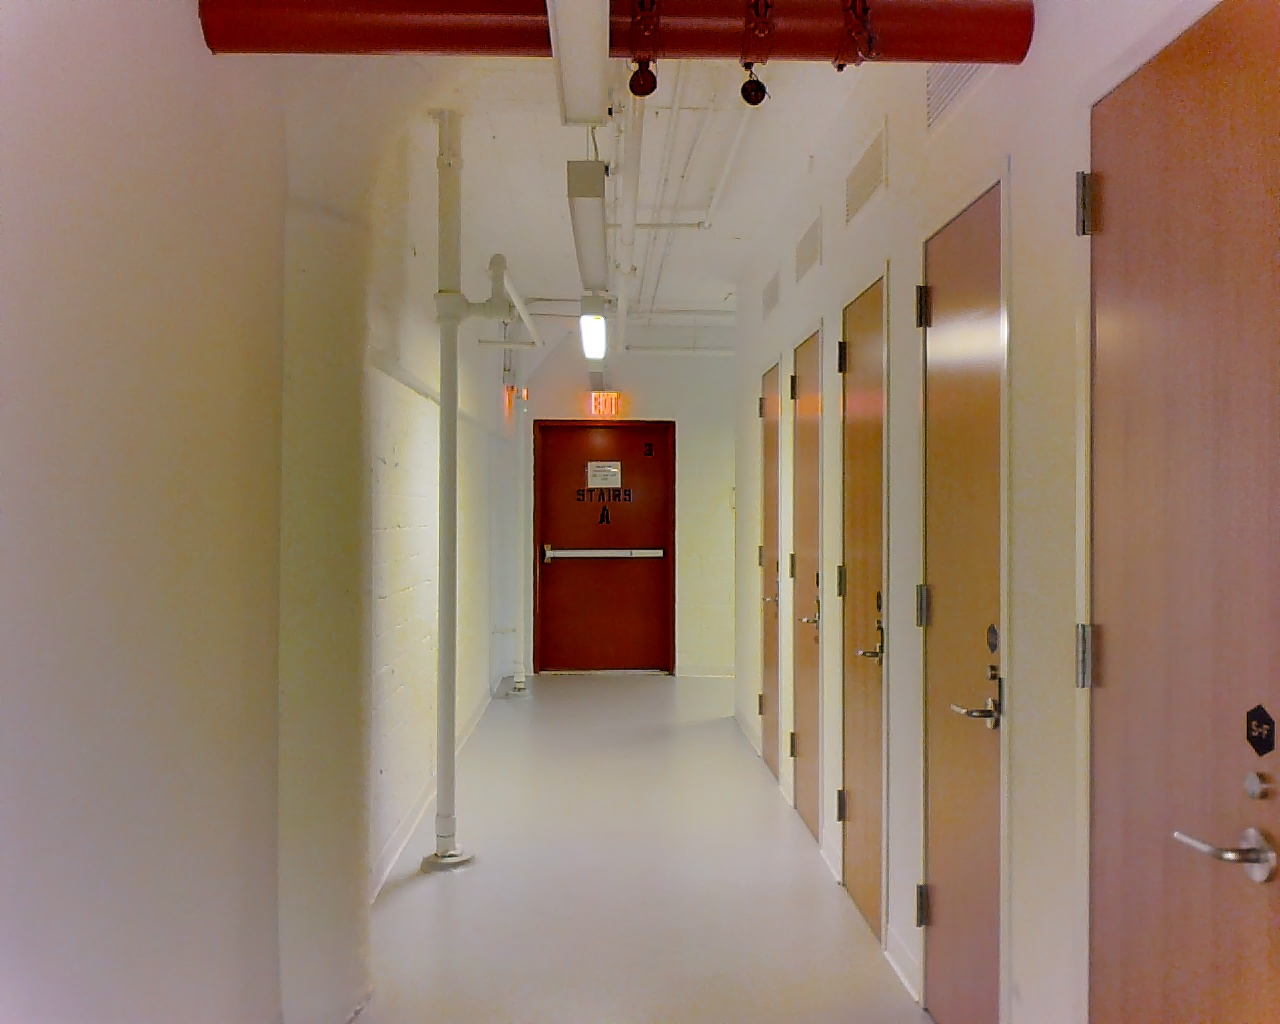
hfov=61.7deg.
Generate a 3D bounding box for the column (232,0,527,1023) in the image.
[{"bbox_3d":[-0.680,-0.040,3.170,0.600,2.931,1.300,0,0,-2],"label":"column"}]
